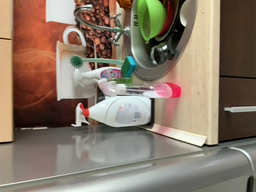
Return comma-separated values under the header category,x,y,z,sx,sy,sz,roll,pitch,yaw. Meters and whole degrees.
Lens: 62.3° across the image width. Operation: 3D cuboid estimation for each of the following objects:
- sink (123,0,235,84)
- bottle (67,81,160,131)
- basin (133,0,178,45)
category,x,y,z,sx,sy,sz,roll,pitch,yaw
sink,0.170,-0.320,0.890,0.480,0.180,0.520,4,93,62
bottle,-0.050,0.030,0.810,0.120,0.330,0.160,6,96,62
basin,0.120,-0.360,0.960,0.180,0.120,0.210,4,93,62
